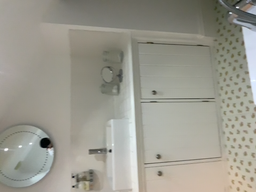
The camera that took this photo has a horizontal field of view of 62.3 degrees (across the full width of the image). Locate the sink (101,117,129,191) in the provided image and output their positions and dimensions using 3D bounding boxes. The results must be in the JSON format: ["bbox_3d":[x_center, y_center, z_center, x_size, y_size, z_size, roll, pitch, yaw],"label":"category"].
[{"bbox_3d":[-0.120,0.450,1.760,0.450,0.130,0.520,148,121,-73],"label":"sink"}]
